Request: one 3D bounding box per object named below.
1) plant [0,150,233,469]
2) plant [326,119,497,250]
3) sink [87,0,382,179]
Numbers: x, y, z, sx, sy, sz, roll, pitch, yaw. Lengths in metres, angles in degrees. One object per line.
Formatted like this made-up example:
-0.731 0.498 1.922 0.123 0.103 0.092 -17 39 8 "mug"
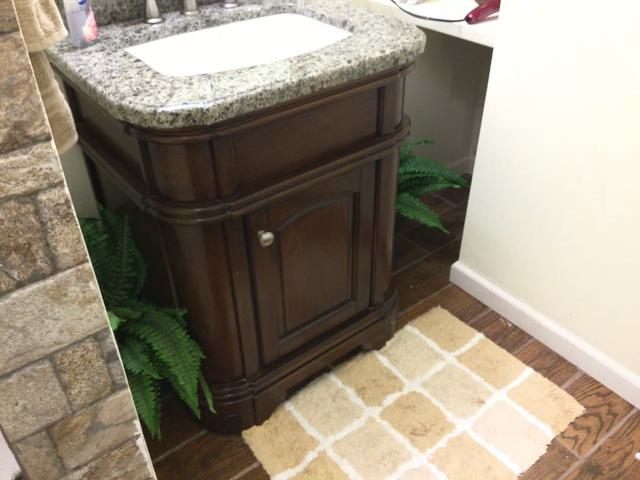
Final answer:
-0.480 0.130 1.350 0.250 0.440 0.580 -24 42 -29 "plant"
0.280 -0.200 1.880 0.320 0.170 0.440 -24 42 -29 "plant"
-0.190 -0.440 1.290 0.470 0.330 0.440 -24 42 -29 "sink"
